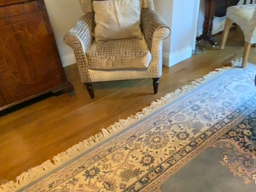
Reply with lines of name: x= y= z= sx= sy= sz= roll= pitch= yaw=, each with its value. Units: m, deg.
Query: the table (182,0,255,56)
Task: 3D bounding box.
table: x=1.260 y=-1.050 z=2.640 sx=1.000 sy=0.690 sz=0.540 roll=-24 pitch=40 yaw=-26

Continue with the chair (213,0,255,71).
chair: x=1.280 y=-0.850 z=2.130 sx=0.470 sy=0.960 sz=0.670 roll=-3 pitch=36 yaw=3
